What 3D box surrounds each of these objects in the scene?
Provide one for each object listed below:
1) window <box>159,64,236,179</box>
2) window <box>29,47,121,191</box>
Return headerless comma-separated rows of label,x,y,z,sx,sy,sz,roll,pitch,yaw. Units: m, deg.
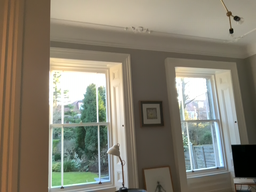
window,1.430,0.480,4.450,1.350,2.170,0.410,1,-11,-21
window,-0.870,0.410,3.560,1.360,2.320,0.350,1,-11,-21
